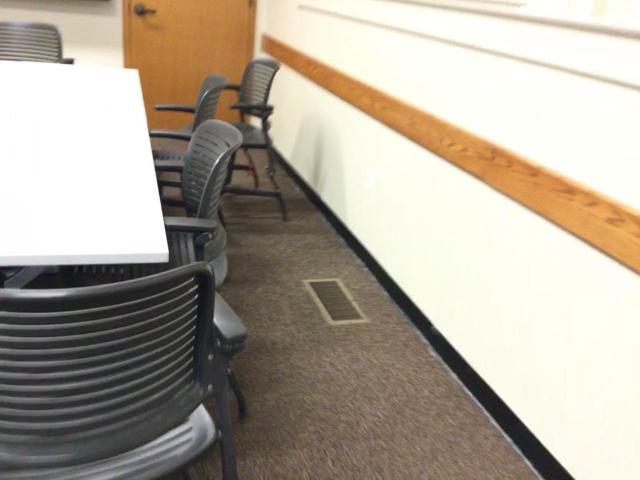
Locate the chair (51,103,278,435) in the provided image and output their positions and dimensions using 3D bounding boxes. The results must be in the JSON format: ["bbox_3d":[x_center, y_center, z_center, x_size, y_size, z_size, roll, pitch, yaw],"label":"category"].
[{"bbox_3d":[-0.510,0.060,1.830,0.540,0.820,0.600,1,23,-19],"label":"chair"}]

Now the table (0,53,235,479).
[{"bbox_3d":[-1.270,-0.160,2.250,1.410,0.780,2.430,1,23,-19],"label":"table"}]

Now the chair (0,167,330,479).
[{"bbox_3d":[-0.440,0.350,1.180,0.650,0.830,0.600,1,23,-19],"label":"chair"}]

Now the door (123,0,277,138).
[{"bbox_3d":[-0.860,-1.820,4.260,1.090,2.070,0.130,1,23,-19],"label":"door"}]
